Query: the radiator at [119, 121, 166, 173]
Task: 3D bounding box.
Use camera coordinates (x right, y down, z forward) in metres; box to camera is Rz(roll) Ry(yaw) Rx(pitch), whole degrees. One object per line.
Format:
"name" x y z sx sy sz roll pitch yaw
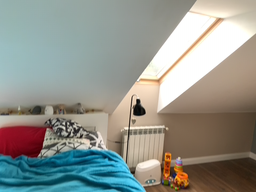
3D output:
"radiator" 0.220 0.740 3.170 0.640 0.680 0.170 0 9 -25
